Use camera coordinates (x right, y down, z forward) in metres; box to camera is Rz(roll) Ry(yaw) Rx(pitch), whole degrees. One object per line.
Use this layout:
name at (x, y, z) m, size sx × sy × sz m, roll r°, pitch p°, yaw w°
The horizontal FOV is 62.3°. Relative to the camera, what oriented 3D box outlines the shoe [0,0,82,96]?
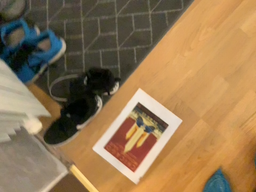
shoe at (-0.460, -0.280, 0.810) m, size 0.260 × 0.170 × 0.500 m, roll -45°, pitch 86°, yaw -7°
